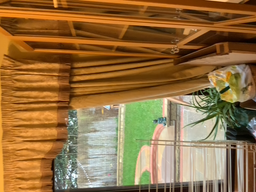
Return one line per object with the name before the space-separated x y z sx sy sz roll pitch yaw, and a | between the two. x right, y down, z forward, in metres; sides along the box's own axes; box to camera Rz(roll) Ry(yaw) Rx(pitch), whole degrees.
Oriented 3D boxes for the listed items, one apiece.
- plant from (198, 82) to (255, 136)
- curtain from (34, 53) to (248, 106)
plant | 0.980 0.100 2.020 0.450 0.420 0.450 -166 77 -80
curtain | 0.170 -0.130 1.850 0.180 1.820 0.400 -166 76 -80
